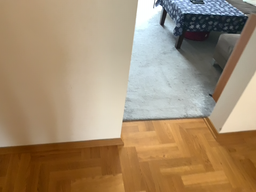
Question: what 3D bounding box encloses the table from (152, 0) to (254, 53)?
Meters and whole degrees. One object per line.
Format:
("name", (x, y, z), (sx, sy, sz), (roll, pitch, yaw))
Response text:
("table", (1.040, -1.230, 3.290), (1.000, 0.510, 1.210), (-1, 43, -11))
